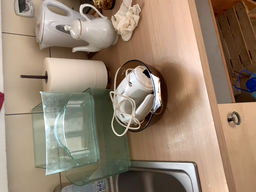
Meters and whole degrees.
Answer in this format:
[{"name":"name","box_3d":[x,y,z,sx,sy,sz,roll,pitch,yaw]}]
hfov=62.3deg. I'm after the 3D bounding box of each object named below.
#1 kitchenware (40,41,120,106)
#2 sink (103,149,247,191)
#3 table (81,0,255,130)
[{"name":"kitchenware","box_3d":[-0.210,-0.080,0.900,0.210,0.250,0.190,-26,70,53]},{"name":"sink","box_3d":[0.140,0.420,0.760,0.510,0.200,0.400,-24,72,54]},{"name":"table","box_3d":[0.320,-0.200,1.050,0.640,0.850,0.580,-23,72,54]}]
